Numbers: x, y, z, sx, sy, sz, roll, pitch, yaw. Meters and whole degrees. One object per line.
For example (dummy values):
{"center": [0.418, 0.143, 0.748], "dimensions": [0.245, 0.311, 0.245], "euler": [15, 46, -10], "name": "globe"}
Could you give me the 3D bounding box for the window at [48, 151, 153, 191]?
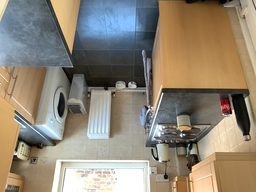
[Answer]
{"center": [-0.340, 1.390, 2.730], "dimensions": [1.290, 1.250, 0.380], "euler": [0, 154, -1], "name": "window"}
